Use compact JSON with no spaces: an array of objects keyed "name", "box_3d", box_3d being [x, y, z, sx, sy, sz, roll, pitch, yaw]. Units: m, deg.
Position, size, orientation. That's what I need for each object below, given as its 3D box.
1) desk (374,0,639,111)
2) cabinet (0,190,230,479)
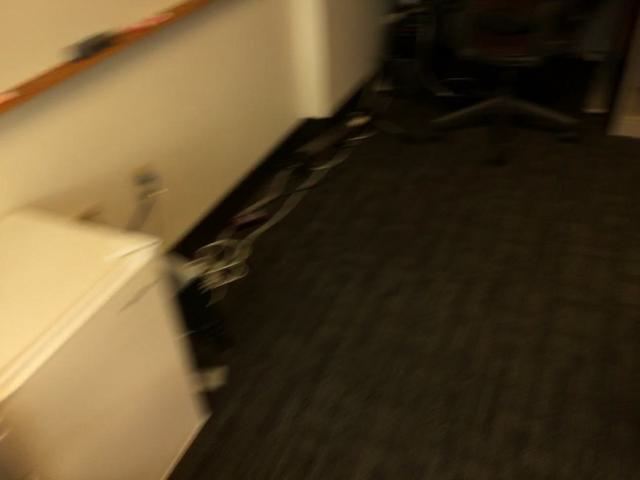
[{"name":"desk","box_3d":[0.990,-1.160,2.990,1.200,0.640,0.720,11,41,26]},{"name":"cabinet","box_3d":[-0.640,0.350,1.370,0.470,0.690,0.560,11,41,26]}]
